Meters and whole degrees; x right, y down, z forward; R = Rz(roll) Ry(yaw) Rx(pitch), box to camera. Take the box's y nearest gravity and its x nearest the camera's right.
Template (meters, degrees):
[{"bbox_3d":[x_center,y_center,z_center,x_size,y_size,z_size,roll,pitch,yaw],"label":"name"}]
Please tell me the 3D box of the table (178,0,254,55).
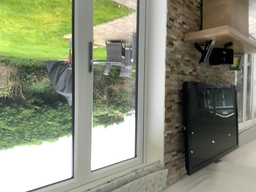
[{"bbox_3d":[1.120,-0.960,2.560,0.400,0.720,1.250,3,-177,43],"label":"table"}]
